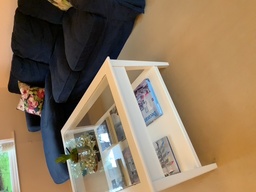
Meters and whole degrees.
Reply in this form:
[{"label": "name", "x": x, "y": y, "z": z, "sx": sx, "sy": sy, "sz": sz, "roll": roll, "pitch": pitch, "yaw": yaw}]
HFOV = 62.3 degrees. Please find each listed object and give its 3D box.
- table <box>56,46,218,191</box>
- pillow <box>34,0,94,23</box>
[{"label": "table", "x": -0.110, "y": 0.360, "z": 1.700, "sx": 1.230, "sy": 0.500, "sz": 0.850, "roll": -46, "pitch": 56, "yaw": 47}, {"label": "pillow", "x": -0.620, "y": -0.850, "z": 1.770, "sx": 0.470, "sy": 0.490, "sz": 0.140, "roll": 20, "pitch": 80, "yaw": 33}]
